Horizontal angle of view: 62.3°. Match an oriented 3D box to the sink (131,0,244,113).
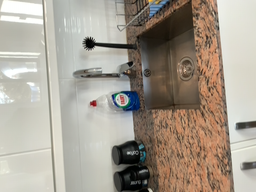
[{"bbox_3d":[0.230,-0.140,0.960,0.440,0.230,0.400,-5,88,64],"label":"sink"}]
